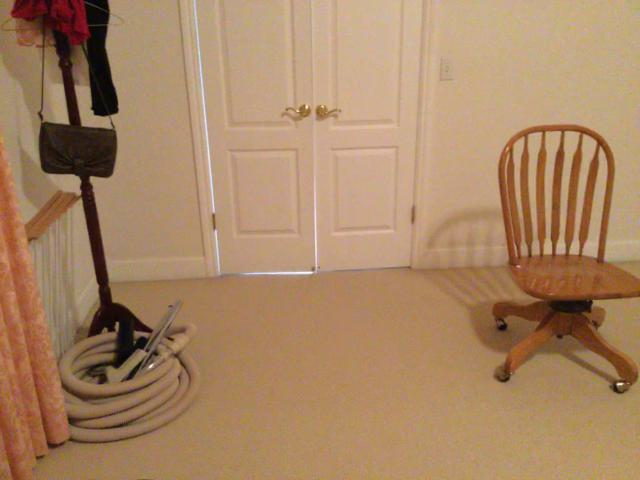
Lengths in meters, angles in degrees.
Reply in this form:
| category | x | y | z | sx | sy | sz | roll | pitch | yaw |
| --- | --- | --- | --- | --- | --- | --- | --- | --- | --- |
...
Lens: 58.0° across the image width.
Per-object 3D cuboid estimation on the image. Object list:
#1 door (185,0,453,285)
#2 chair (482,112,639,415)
| category | x | y | z | sx | sy | sz | roll | pitch | yaw |
| --- | --- | --- | --- | --- | --- | --- | --- | --- | --- |
| door | -0.010 | -0.730 | 2.880 | 1.250 | 2.010 | 0.120 | 0 | 18 | -4 |
| chair | 0.990 | 0.050 | 2.240 | 0.520 | 0.960 | 0.640 | -6 | 19 | -1 |
